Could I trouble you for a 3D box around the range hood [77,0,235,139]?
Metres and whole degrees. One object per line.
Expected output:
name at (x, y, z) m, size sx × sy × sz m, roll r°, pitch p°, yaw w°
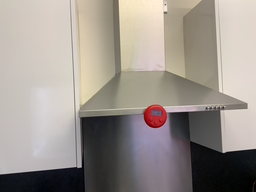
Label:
range hood at (0.050, -0.280, 0.960) m, size 0.530 × 0.810 × 0.530 m, roll -2°, pitch -1°, yaw -13°
